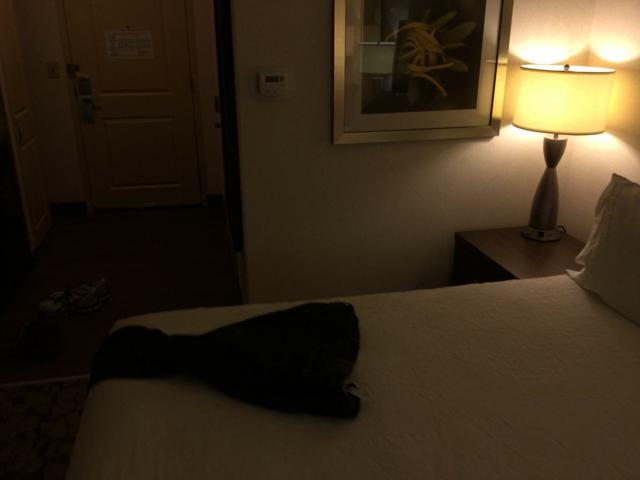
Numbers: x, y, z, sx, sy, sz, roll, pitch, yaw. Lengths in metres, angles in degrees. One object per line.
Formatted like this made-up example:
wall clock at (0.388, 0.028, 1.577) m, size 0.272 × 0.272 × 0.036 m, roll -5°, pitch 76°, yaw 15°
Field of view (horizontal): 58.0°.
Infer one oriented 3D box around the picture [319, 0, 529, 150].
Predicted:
picture at (0.420, -0.790, 2.400) m, size 0.840 × 0.810 × 0.080 m, roll -2°, pitch 21°, yaw -5°

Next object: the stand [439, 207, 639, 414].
stand at (0.950, 0.270, 2.580) m, size 0.590 × 0.630 × 0.720 m, roll -2°, pitch 21°, yaw -6°
